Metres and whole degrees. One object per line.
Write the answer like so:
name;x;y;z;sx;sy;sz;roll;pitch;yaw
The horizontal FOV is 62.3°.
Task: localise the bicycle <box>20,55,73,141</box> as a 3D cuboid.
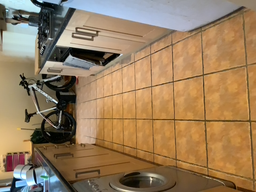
bicycle;-1.800;0.060;4.670;0.550;0.980;1.700;-5;84;61
